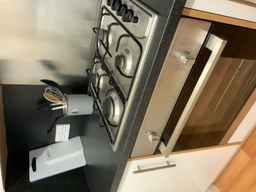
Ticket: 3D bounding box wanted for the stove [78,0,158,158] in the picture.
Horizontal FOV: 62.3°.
[{"bbox_3d":[-0.110,-0.140,0.940,0.560,0.040,0.580,58,140,47],"label":"stove"}]
